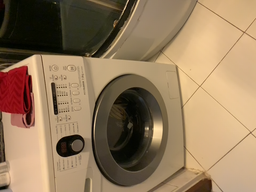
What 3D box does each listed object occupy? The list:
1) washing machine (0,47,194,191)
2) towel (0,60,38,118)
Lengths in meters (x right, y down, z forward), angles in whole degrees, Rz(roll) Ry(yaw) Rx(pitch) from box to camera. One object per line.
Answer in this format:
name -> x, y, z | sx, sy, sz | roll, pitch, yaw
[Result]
washing machine -> -0.170, 0.150, 1.120 | 0.640, 0.840, 0.600 | -3, 91, 44
towel -> -0.410, -0.020, 0.740 | 0.260, 0.070, 0.170 | -2, 92, 44
